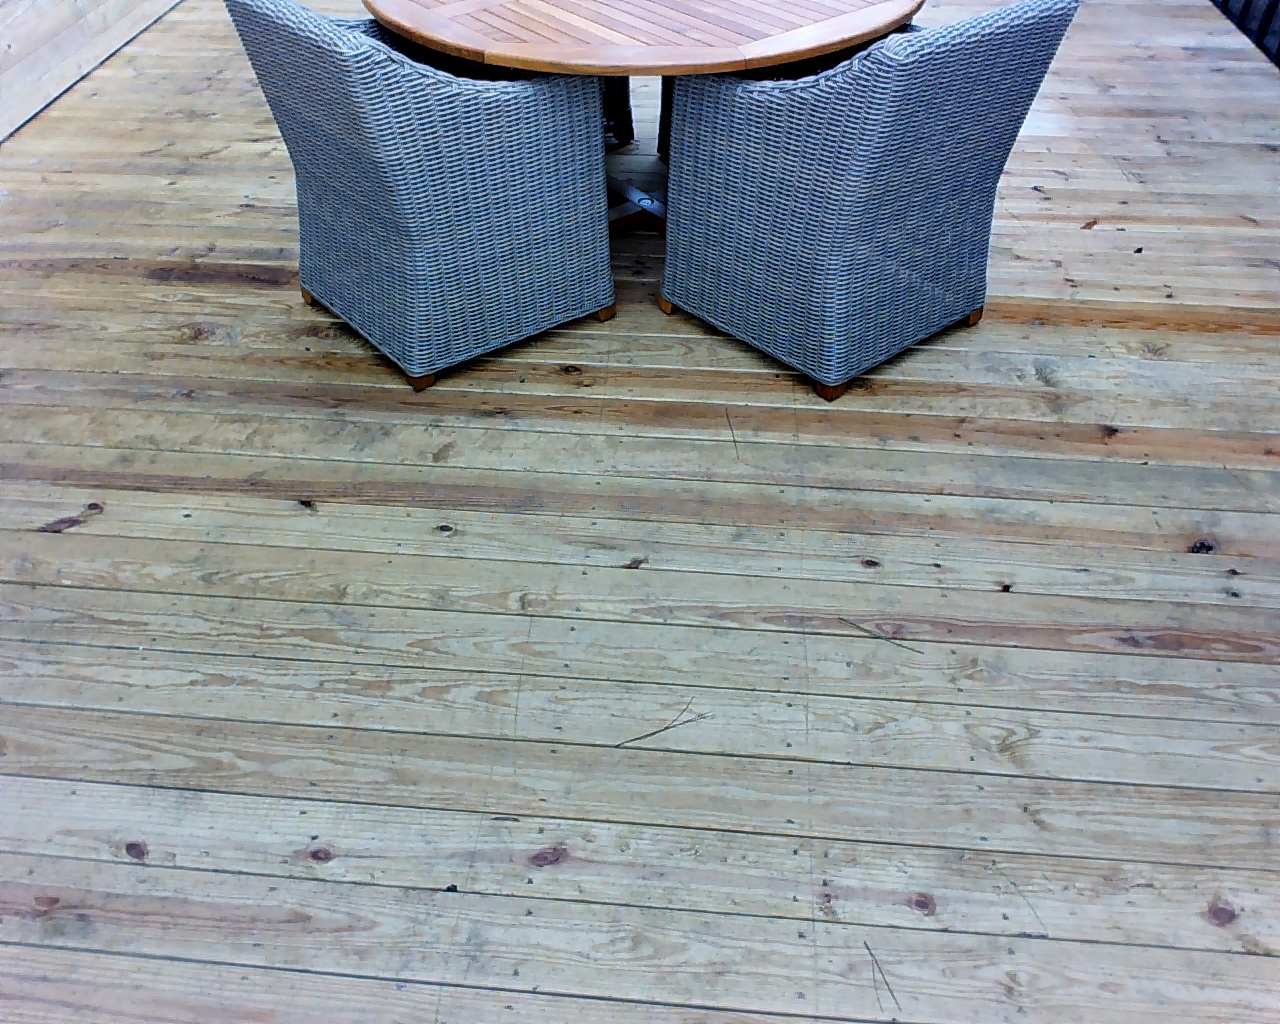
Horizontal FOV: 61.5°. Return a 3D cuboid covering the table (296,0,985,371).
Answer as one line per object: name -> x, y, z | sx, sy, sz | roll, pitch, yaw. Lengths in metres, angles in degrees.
table -> 0.050, -1.200, 3.160 | 1.500, 0.740, 1.560 | 3, 42, 3
